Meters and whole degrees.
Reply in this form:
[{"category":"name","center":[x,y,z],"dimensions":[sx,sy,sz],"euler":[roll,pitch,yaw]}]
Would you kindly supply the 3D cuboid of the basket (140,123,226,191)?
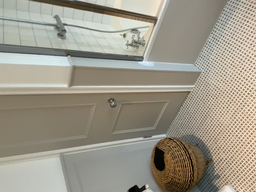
[{"category":"basket","center":[0.460,0.570,1.900],"dimensions":[0.430,0.440,0.440],"euler":[59,138,40]}]
